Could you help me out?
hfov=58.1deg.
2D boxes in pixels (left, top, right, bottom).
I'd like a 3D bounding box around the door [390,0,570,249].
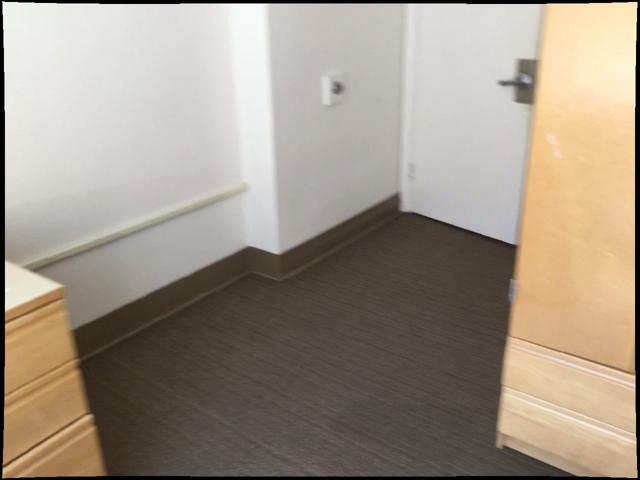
[{"bbox_3d":[0.848,-0.962,3.270,0.240,1.844,0.959,-21,30,-37],"label":"door"}]
